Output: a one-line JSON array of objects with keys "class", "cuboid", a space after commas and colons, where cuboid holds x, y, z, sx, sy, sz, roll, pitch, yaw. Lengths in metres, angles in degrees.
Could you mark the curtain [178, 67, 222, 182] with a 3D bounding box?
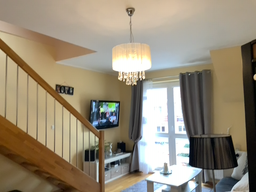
[{"class": "curtain", "cuboid": [1.560, 0.580, 4.660, 0.810, 2.330, 0.270, -3, -5, 35]}]
